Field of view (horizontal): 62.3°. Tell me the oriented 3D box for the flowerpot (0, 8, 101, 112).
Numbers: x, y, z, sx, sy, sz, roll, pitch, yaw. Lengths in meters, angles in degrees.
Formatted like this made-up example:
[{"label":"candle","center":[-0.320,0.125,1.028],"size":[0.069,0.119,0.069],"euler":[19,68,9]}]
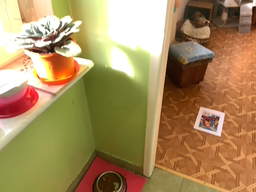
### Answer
[{"label":"flowerpot","center":[-0.310,-0.150,0.790],"size":[0.320,0.240,0.240],"euler":[16,42,19]}]
